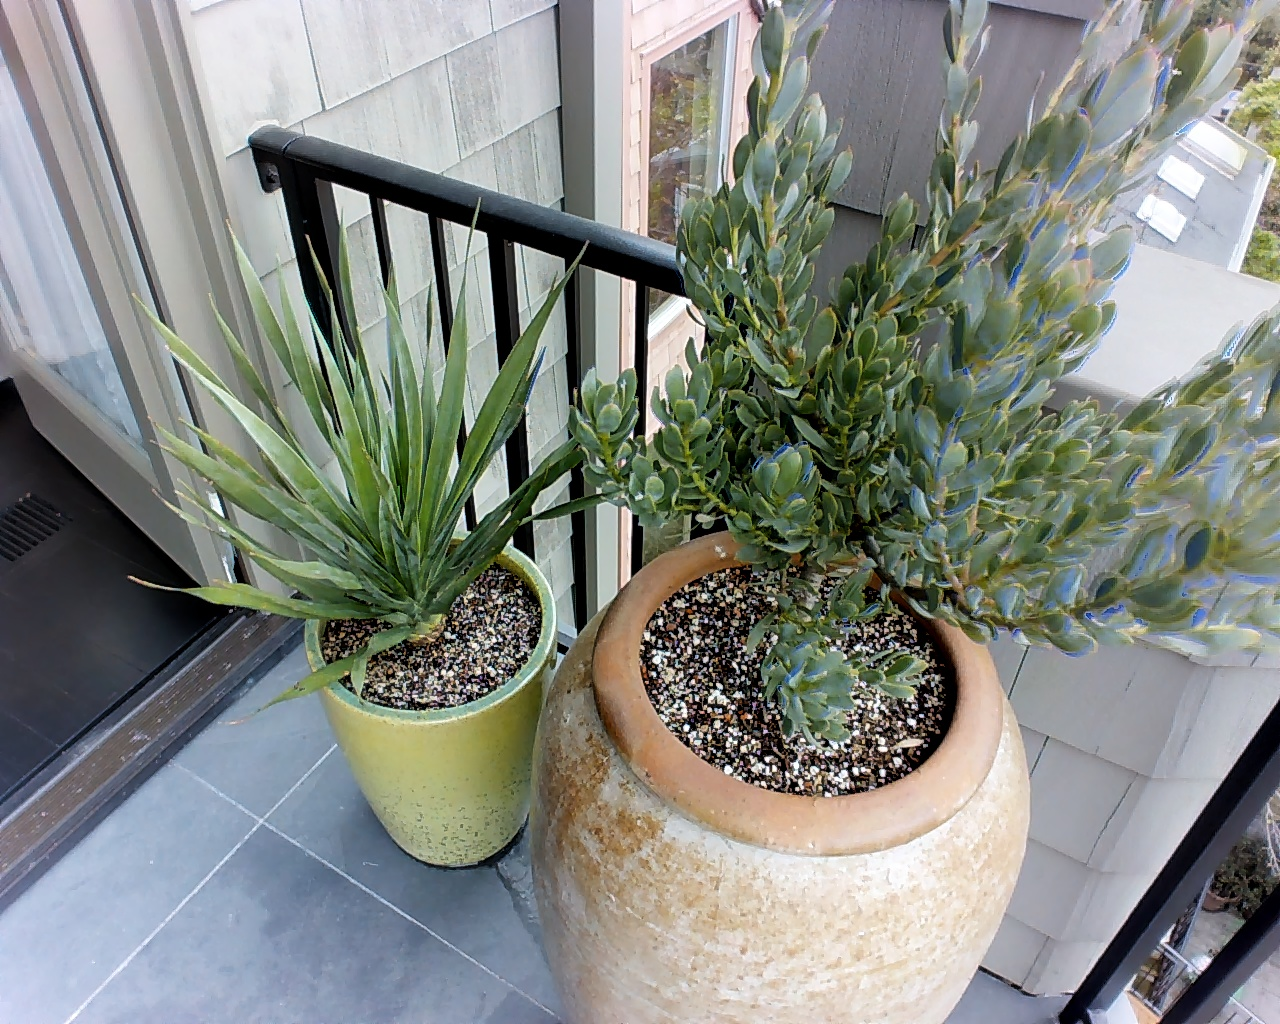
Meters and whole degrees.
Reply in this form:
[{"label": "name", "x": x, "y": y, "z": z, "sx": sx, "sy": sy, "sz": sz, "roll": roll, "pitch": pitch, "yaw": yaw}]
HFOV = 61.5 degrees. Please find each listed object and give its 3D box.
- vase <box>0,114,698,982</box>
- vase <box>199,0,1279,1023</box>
[{"label": "vase", "x": -0.300, "y": 0.080, "z": 1.480, "sx": 0.550, "sy": 0.990, "sz": 0.480, "roll": 21, "pitch": 46, "yaw": 21}, {"label": "vase", "x": 0.200, "y": 0.250, "z": 1.040, "sx": 0.590, "sy": 1.400, "sz": 0.610, "roll": 21, "pitch": 46, "yaw": 21}]
